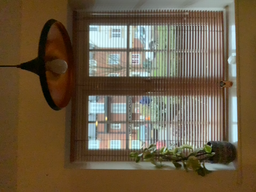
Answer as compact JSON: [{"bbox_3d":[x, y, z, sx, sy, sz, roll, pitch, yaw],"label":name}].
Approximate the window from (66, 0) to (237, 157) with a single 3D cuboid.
[{"bbox_3d":[0.170,-0.140,1.560,0.100,1.210,1.130,64,-153,-89],"label":"window"}]
